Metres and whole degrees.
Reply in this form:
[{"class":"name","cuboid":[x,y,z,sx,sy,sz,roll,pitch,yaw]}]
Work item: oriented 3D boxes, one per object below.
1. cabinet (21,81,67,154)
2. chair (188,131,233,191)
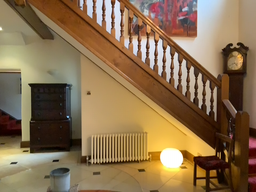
[{"class":"cabinet","cuboid":[-2.080,0.500,5.340,0.970,1.720,0.570,0,3,-12]},{"class":"chair","cuboid":[1.280,1.020,3.350,0.490,0.840,0.450,0,3,-9]}]
